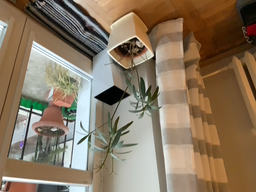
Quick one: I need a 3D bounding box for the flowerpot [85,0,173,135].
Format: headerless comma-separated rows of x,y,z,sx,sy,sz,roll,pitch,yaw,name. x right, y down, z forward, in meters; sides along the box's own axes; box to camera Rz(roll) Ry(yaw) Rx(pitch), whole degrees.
-0.010,-0.210,1.240,0.330,0.760,0.290,-22,146,31,flowerpot
